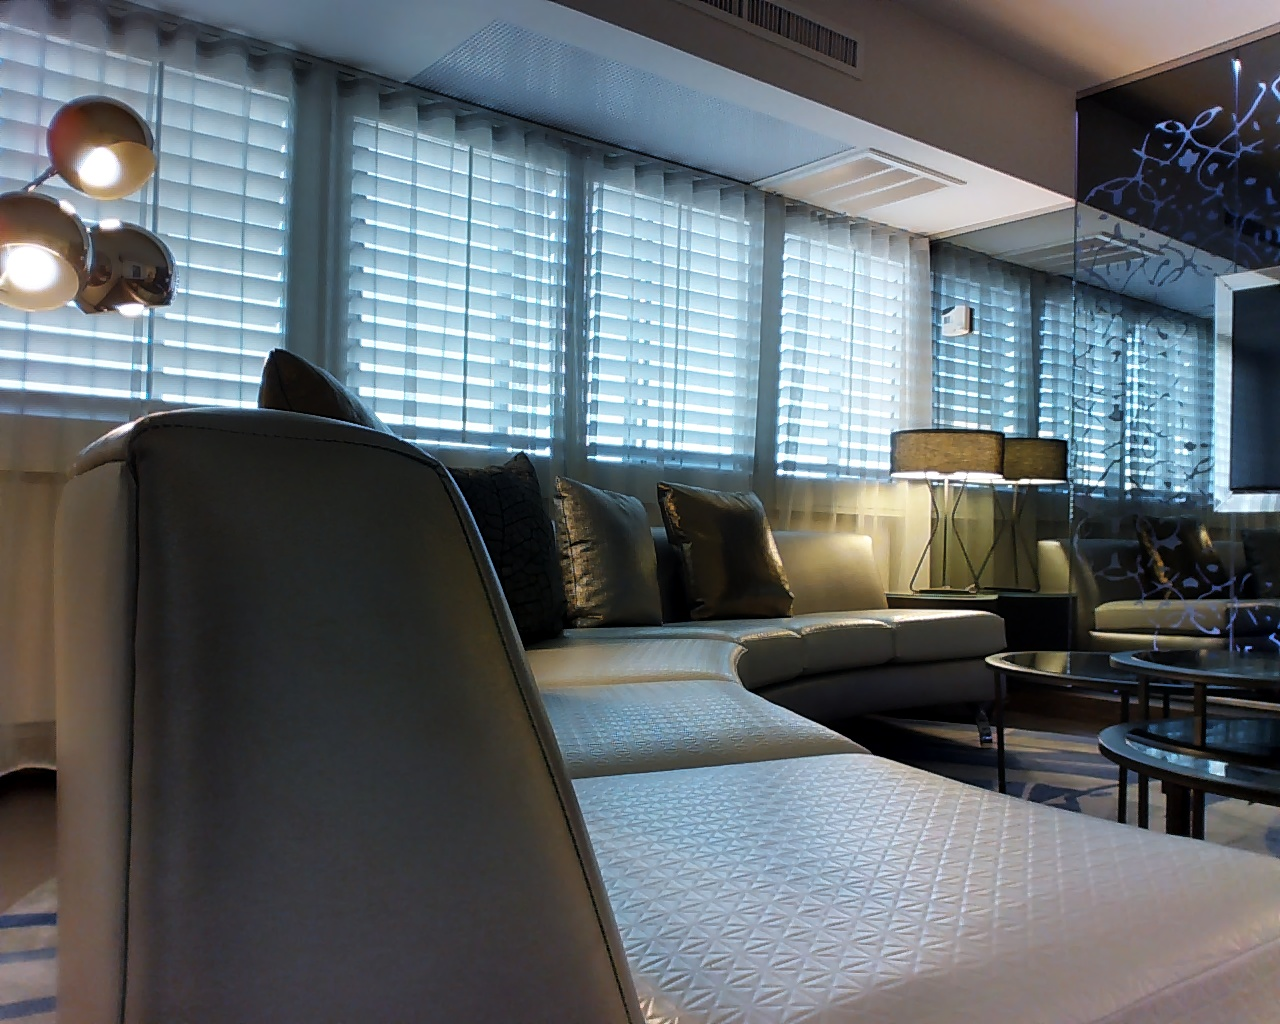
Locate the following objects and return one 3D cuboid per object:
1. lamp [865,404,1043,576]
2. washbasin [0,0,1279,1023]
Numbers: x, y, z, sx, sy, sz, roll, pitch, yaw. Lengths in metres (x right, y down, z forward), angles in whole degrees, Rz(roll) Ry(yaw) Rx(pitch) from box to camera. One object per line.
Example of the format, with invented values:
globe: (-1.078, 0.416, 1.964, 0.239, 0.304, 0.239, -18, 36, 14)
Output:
lamp: (1.320, -0.080, 4.540, 0.470, 0.670, 0.530, 2, -1, -38)
washbasin: (1.270, -0.710, 1.550, 4.650, 2.670, 4.040, 2, -1, -38)
